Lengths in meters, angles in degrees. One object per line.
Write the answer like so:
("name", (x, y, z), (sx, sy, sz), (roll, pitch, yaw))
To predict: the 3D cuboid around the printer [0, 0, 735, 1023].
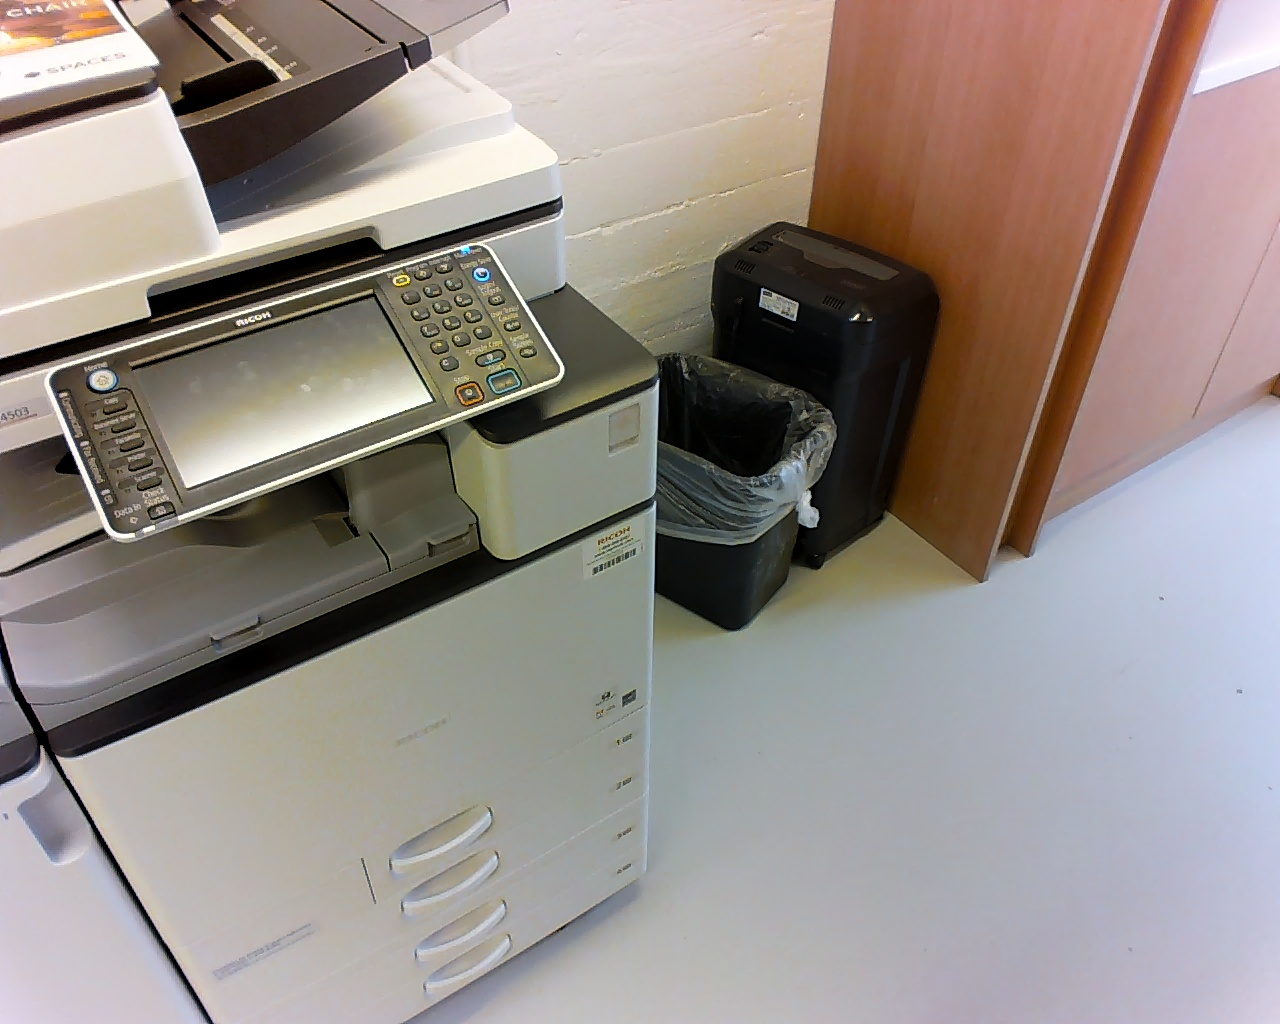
("printer", (-0.480, 0.200, 1.080), (1.100, 1.200, 0.330), (-24, 47, -24))
